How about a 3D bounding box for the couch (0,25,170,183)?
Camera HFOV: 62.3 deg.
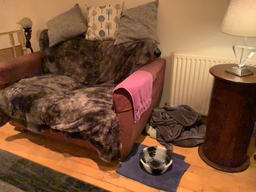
[{"bbox_3d":[-0.500,-0.110,2.040,1.520,0.930,1.020,10,27,21],"label":"couch"}]
